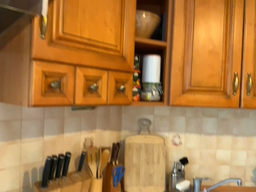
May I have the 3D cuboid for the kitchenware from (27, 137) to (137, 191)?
[{"bbox_3d":[-0.200,0.410,1.070,0.540,0.320,0.150,1,2,-45],"label":"kitchenware"}]
